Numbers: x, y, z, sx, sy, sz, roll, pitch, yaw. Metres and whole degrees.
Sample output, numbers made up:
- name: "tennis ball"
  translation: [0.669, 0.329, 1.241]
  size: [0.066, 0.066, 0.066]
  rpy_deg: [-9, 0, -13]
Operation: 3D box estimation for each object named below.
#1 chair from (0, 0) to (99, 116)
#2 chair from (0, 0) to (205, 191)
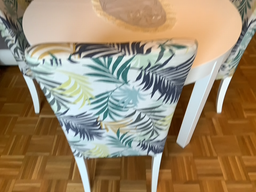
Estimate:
- name: "chair"
  translation: [-0.500, -0.350, 1.360]
  size: [0.510, 0.970, 0.450]
  rpy_deg: [0, 47, -1]
- name: "chair"
  translation: [-0.070, 0.060, 0.990]
  size: [0.460, 0.960, 0.500]
  rpy_deg: [-1, 47, -2]
